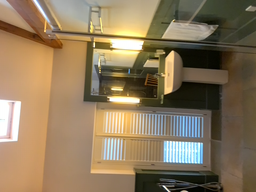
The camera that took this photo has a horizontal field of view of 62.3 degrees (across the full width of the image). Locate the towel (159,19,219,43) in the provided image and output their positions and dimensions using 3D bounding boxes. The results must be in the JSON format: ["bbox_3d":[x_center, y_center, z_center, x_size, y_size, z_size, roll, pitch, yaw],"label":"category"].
[{"bbox_3d":[0.700,-0.770,2.550,0.500,0.560,0.060,137,137,-84],"label":"towel"}]
